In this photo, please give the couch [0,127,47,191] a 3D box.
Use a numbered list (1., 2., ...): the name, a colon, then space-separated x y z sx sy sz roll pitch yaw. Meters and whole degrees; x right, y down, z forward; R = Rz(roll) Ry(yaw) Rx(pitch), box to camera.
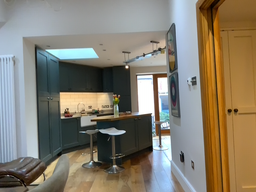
1. couch: -1.850 0.900 2.900 1.200 0.810 0.680 -2 -1 1
